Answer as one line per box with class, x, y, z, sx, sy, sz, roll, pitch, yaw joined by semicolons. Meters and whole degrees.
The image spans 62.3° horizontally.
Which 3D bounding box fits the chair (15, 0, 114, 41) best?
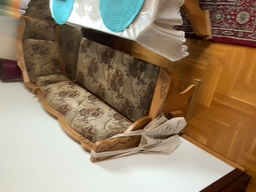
chair;-0.640;-1.050;2.210;0.580;0.800;0.750;27;112;43
